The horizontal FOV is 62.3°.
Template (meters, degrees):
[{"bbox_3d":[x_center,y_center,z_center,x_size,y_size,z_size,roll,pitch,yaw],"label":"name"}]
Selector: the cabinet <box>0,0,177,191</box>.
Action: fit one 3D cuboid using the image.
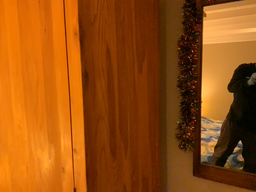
[{"bbox_3d":[-0.250,0.350,1.060,0.750,1.900,0.690,4,7,32],"label":"cabinet"}]
